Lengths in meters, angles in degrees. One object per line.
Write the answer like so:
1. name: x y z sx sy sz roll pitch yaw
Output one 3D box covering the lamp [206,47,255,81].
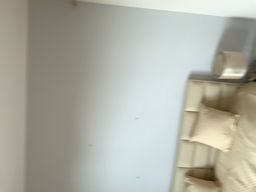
1. lamp: 0.980 -0.300 1.980 0.220 0.380 0.260 -111 26 -80
